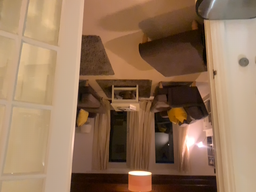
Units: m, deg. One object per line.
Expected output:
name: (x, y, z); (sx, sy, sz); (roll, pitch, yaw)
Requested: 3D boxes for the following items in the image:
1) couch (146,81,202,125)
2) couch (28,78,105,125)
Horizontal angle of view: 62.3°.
couch: (1.030, 0.230, 5.260); (1.100, 0.810, 1.510); (0, 167, 2)
couch: (-1.380, 0.250, 5.490); (1.260, 0.810, 2.180); (0, 167, 2)
